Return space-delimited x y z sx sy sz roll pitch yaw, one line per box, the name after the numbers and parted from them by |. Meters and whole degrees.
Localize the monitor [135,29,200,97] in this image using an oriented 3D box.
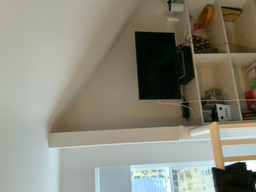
0.400 -0.350 2.220 0.060 0.590 0.680 78 -172 -77 | monitor

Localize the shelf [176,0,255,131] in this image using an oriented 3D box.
1.030 -0.690 2.460 0.320 0.740 2.100 109 158 -76 | shelf
